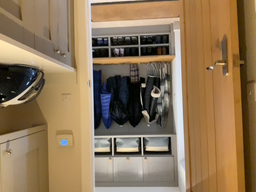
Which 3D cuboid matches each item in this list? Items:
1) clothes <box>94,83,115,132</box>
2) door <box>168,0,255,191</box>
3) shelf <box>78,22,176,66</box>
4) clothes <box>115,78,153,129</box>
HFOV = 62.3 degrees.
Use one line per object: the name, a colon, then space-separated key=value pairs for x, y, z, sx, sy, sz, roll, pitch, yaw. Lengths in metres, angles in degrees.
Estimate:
clothes: x=-0.390 y=0.180 z=3.580 sx=0.300 sy=0.770 sz=0.390 roll=-1 pitch=180 yaw=0
door: x=0.460 y=-0.200 z=1.390 sx=0.140 sy=2.140 sz=0.910 roll=-1 pitch=180 yaw=-4
shelf: x=-0.010 y=-0.820 z=3.450 sx=1.470 sy=0.540 sz=0.510 roll=-1 pitch=180 yaw=4
clothes: x=0.090 y=0.120 z=3.530 sx=0.590 sy=0.800 sz=0.400 roll=-1 pitch=180 yaw=-1
